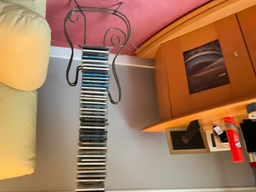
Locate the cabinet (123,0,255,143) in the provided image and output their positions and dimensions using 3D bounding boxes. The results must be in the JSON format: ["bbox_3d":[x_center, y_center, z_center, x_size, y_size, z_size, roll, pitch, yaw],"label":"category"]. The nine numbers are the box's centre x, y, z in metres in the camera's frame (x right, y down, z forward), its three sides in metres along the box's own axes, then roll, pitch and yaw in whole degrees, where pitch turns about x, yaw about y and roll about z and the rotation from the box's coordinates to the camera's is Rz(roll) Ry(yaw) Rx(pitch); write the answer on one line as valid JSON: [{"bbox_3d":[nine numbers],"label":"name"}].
[{"bbox_3d":[0.770,-0.200,1.310,1.460,0.660,0.680,-17,151,29],"label":"cabinet"}]
